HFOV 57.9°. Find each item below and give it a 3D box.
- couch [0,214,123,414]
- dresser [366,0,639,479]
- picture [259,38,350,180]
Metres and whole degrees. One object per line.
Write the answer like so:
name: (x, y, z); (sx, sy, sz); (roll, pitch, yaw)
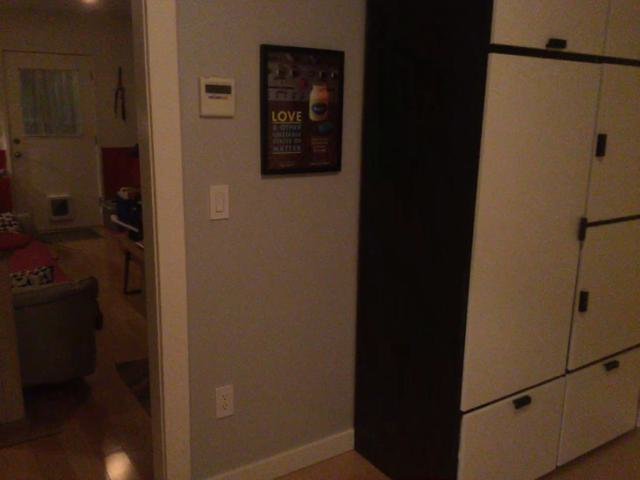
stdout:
couch: (-1.510, 0.330, 2.800); (0.860, 0.730, 0.690); (-8, 17, -33)
dresser: (0.830, -0.070, 2.160); (1.170, 1.960, 0.500); (-8, 17, -33)
picture: (-0.050, -0.440, 1.980); (0.340, 0.450, 0.030); (-8, 17, -33)
